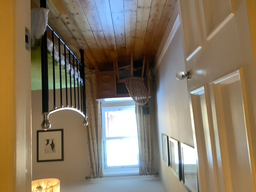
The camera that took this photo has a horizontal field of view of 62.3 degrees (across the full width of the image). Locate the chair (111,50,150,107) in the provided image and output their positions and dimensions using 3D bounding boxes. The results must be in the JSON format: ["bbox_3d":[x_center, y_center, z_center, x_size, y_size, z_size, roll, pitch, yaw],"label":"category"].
[{"bbox_3d":[0.030,-0.270,3.810,0.400,0.910,0.540,2,173,-38],"label":"chair"}]

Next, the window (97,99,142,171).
[{"bbox_3d":[-0.200,0.860,4.820,0.940,1.500,0.310,-3,174,-1],"label":"window"}]
